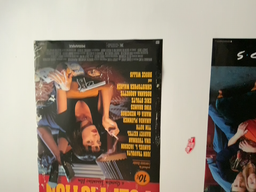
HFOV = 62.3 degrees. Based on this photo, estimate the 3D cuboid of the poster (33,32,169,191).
[{"bbox_3d":[-0.140,0.160,1.020,0.620,0.900,0.030,2,-174,4],"label":"poster"}]
